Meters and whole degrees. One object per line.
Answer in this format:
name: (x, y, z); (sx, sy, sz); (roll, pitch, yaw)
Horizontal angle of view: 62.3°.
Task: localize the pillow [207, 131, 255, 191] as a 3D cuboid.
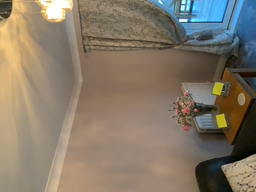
pillow: (0.950, 0.590, 1.630); (0.500, 0.450, 0.180); (-40, -36, -35)
